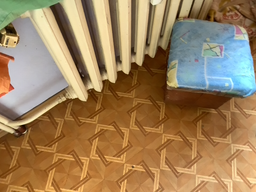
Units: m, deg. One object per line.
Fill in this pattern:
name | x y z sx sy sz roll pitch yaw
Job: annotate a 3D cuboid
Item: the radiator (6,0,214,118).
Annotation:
radiator | 0.020 -0.320 0.890 0.760 0.620 0.260 -38 74 -14
